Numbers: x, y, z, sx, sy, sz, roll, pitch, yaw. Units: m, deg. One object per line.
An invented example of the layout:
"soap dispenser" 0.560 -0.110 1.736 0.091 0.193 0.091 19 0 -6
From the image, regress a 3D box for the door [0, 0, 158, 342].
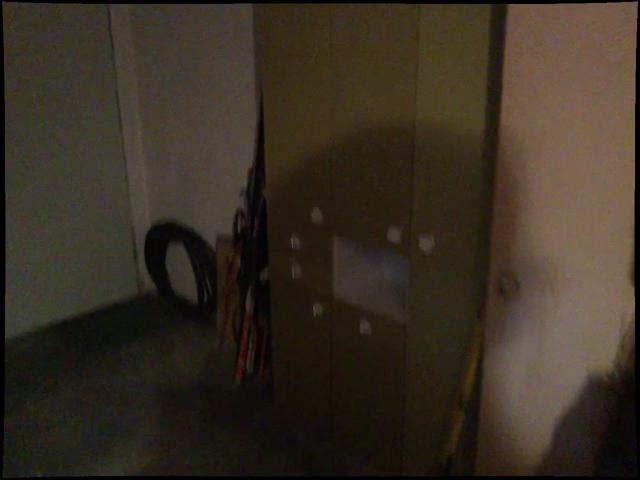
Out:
"door" -1.439 -0.511 3.060 0.200 1.942 1.020 18 26 39
